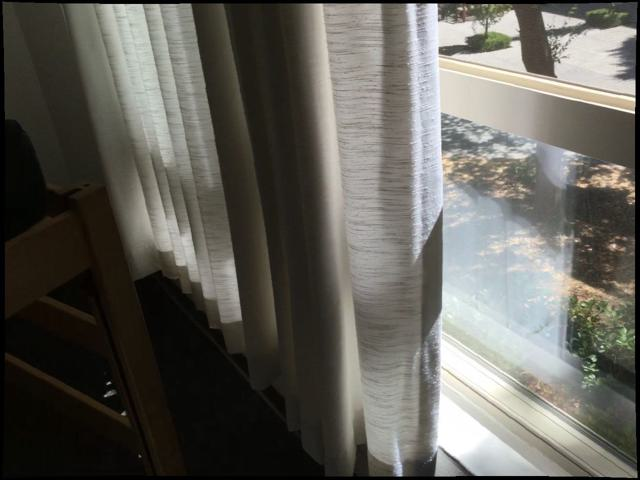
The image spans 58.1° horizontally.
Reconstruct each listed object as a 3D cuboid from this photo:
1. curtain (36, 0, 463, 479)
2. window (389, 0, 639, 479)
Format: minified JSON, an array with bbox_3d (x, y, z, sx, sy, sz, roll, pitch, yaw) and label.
[{"bbox_3d":[-0.239,-0.110,1.170,0.270,1.012,1.080,-20,34,-29],"label":"curtain"},{"bbox_3d":[0.359,0.010,0.710,0.140,1.032,0.620,-21,34,-30],"label":"window"}]
